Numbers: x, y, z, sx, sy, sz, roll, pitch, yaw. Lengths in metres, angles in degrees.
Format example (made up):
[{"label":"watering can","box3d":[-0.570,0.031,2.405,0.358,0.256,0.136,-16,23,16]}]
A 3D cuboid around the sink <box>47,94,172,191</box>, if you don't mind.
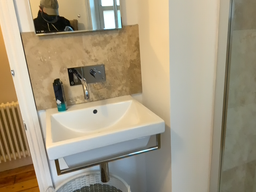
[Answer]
[{"label":"sink","box3d":[-0.120,0.180,1.080,0.520,0.180,0.440,-11,19,-18]}]
